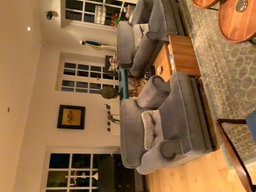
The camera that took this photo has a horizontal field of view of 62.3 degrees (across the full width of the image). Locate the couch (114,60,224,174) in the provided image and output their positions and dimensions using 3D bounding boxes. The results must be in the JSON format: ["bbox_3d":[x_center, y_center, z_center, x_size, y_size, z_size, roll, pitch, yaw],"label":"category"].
[{"bbox_3d":[0.390,0.360,2.840,1.120,0.910,1.120,119,152,-57],"label":"couch"}]

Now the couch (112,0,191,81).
[{"bbox_3d":[0.290,-1.130,3.700,1.110,0.920,1.240,119,152,-57],"label":"couch"}]
